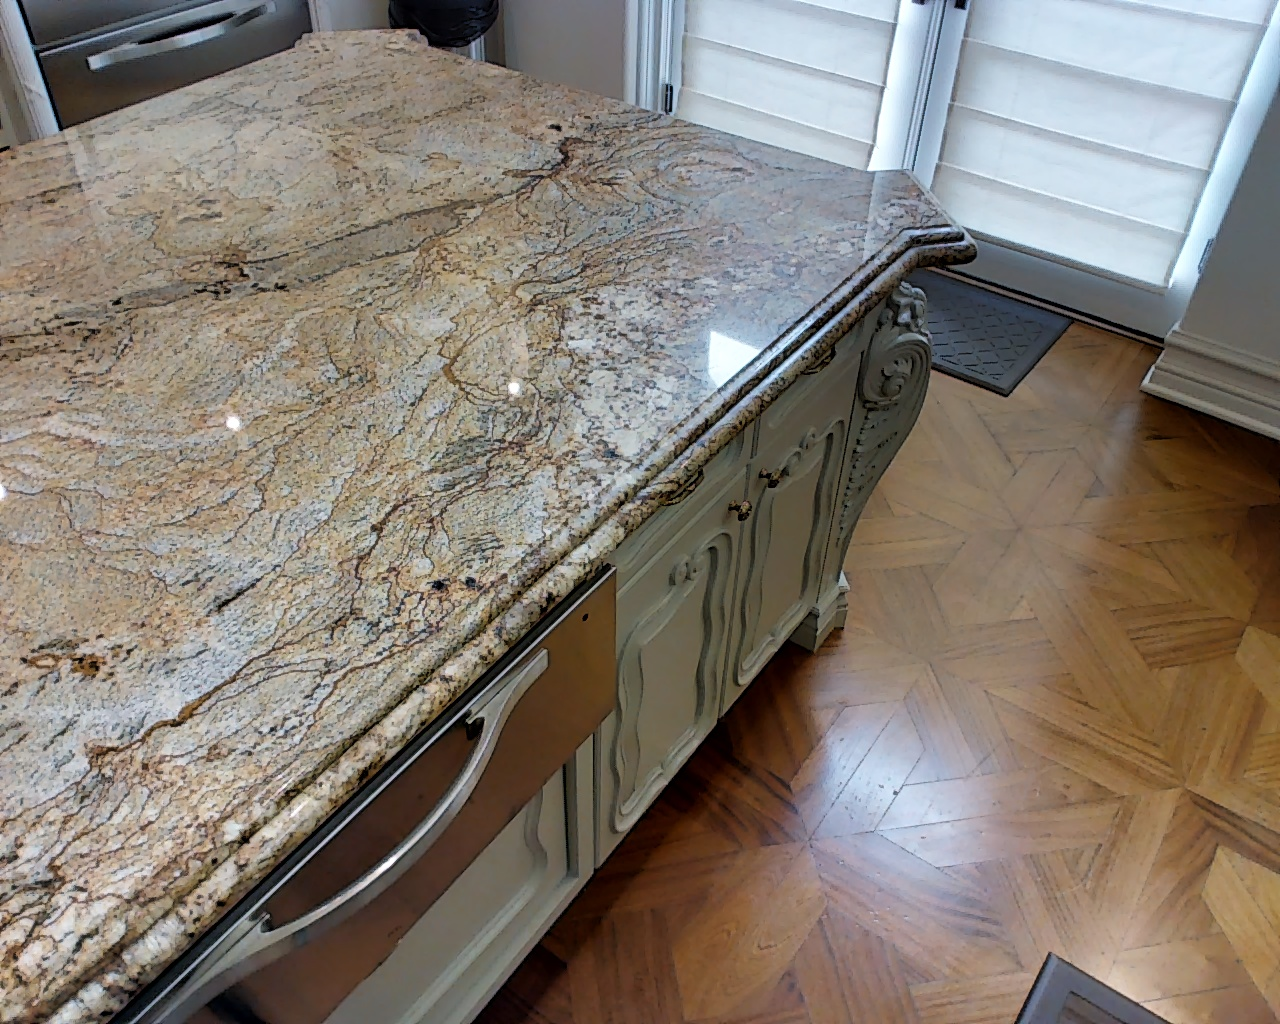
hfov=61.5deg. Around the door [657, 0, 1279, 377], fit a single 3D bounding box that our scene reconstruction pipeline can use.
[{"bbox_3d":[0.870,-1.700,2.700,1.860,2.420,0.120,27,47,26],"label":"door"}]
